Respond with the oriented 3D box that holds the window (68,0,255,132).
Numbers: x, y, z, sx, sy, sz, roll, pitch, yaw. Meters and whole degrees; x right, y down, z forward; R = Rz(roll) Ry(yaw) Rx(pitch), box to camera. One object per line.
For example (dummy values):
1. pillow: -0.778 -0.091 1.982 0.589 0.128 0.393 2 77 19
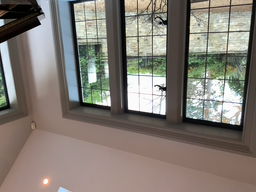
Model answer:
1. window: 0.310 -0.540 2.460 2.430 1.580 0.120 7 -163 28
